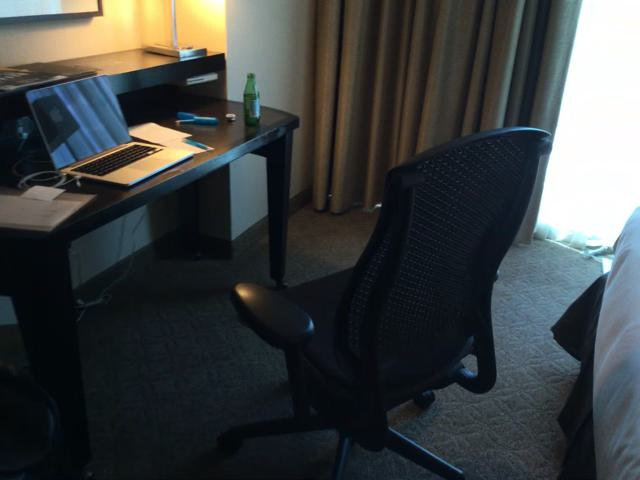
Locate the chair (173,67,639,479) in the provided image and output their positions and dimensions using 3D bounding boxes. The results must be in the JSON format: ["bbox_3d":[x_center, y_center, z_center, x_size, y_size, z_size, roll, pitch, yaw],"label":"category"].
[{"bbox_3d":[0.120,0.160,1.470,0.710,1.040,0.730,-12,28,-30],"label":"chair"}]

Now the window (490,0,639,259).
[{"bbox_3d":[1.520,-0.650,2.690,1.140,1.470,0.250,13,26,20],"label":"window"}]

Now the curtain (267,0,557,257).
[{"bbox_3d":[0.410,-1.010,2.700,1.260,2.010,0.320,12,26,17],"label":"curtain"}]
